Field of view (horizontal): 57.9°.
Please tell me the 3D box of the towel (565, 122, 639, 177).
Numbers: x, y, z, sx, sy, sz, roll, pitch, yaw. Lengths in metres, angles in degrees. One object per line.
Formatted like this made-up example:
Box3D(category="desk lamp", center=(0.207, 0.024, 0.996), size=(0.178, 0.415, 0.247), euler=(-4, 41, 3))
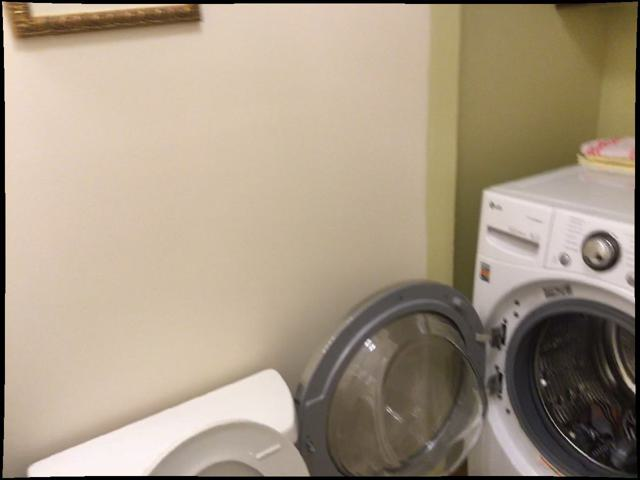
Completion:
Box3D(category="towel", center=(0.889, -0.240, 1.560), size=(0.220, 0.090, 0.350), euler=(-16, 24, -31))
